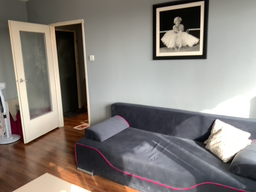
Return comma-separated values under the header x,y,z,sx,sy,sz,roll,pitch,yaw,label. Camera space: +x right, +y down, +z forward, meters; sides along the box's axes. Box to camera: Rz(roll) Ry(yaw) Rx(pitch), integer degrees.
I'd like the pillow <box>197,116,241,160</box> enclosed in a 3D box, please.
x,y,z,sx,sy,sz,roll,pitch,yaw,label
0.950,0.440,2.220,0.120,0.410,0.350,36,-27,-19,pillow

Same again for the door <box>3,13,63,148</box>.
x,y,z,sx,sy,sz,roll,pitch,yaw,label
-1.570,-0.260,3.680,0.110,2.100,0.860,4,13,24,door

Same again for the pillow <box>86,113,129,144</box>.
x,y,z,sx,sy,sz,roll,pitch,yaw,label
-0.250,0.410,2.830,0.240,0.190,0.600,6,14,33,pillow

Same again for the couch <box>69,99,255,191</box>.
x,y,z,sx,sy,sz,roll,pitch,yaw,label
0.420,0.580,2.450,2.040,0.710,0.950,6,14,32,couch
